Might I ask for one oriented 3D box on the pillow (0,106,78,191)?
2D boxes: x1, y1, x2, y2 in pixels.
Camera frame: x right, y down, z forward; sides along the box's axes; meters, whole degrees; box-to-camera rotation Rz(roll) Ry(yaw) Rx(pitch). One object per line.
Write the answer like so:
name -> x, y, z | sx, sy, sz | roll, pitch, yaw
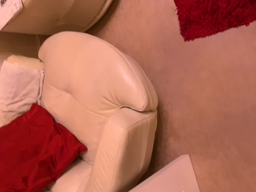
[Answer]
pillow -> -0.510, 0.230, 0.960 | 0.520, 0.410, 0.080 | 39, 132, 51
